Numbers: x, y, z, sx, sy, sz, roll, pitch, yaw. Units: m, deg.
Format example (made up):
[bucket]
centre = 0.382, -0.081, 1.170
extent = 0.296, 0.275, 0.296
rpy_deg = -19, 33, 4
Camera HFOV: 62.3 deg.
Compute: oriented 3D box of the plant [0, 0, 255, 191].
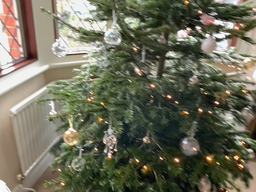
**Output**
[plant]
centre = 0.200, -0.020, 1.370
extent = 1.470, 1.760, 1.260
rpy_deg = -16, 33, -35
